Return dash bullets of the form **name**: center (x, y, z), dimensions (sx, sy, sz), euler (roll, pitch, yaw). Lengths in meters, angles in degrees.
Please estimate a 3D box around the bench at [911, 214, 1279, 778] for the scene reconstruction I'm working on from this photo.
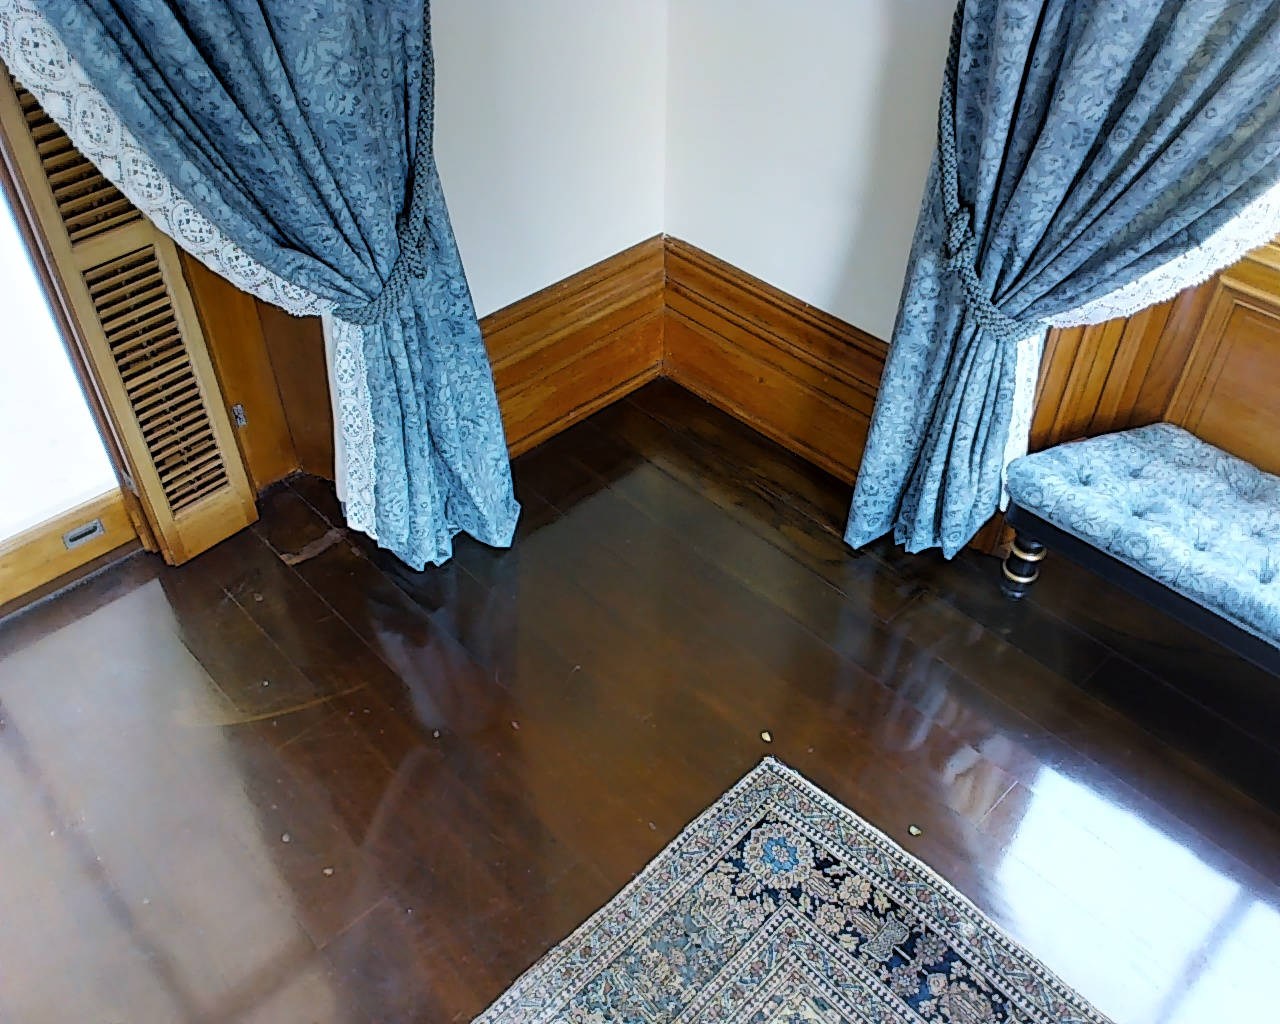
- **bench**: center (1.270, 0.150, 1.720), dimensions (0.430, 0.600, 1.630), euler (-31, 50, -29)
